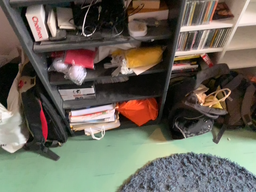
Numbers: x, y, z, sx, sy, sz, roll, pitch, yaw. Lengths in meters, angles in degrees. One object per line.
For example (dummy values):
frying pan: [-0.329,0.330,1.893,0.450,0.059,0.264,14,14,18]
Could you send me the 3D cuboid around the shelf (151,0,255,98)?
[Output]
shelf: [0.690,-0.370,1.160,1.030,0.900,0.190,-6,55,-3]
